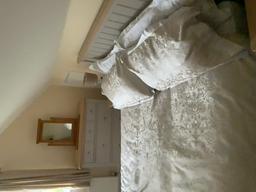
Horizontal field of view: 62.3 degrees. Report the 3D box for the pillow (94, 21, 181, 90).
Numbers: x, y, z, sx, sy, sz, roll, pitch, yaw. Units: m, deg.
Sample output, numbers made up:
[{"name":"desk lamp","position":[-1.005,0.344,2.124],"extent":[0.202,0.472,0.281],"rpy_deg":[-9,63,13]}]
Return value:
[{"name":"pillow","position":[0.120,-0.230,1.520],"extent":[0.160,0.400,0.690],"rpy_deg":[69,-163,12]}]
